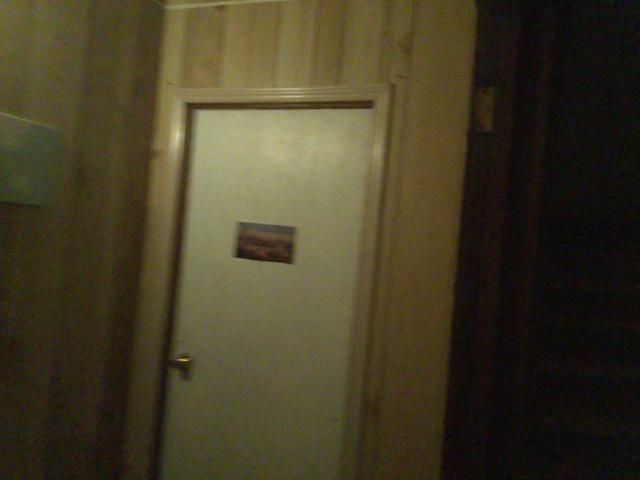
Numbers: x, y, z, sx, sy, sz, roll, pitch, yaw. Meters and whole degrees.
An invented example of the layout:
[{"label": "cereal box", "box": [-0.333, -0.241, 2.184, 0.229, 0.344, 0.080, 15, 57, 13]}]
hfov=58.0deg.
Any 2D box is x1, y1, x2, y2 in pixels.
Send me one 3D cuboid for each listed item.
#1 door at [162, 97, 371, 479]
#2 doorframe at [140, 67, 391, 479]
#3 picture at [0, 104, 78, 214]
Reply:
[{"label": "door", "box": [-0.220, 0.500, 2.160, 0.810, 2.010, 0.050, 0, -2, 19]}, {"label": "doorframe", "box": [-0.220, 0.470, 2.110, 0.920, 2.090, 0.130, 0, -2, 19]}, {"label": "picture", "box": [-0.850, -0.230, 1.730, 0.040, 0.280, 0.290, 0, -2, 19]}]
